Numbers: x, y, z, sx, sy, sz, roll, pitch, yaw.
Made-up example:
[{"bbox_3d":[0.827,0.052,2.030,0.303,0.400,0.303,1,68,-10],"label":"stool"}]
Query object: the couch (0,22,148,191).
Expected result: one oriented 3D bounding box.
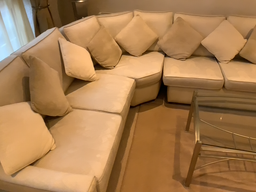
[{"bbox_3d":[-0.370,0.080,1.680,0.880,0.840,1.420,6,36,6],"label":"couch"}]
